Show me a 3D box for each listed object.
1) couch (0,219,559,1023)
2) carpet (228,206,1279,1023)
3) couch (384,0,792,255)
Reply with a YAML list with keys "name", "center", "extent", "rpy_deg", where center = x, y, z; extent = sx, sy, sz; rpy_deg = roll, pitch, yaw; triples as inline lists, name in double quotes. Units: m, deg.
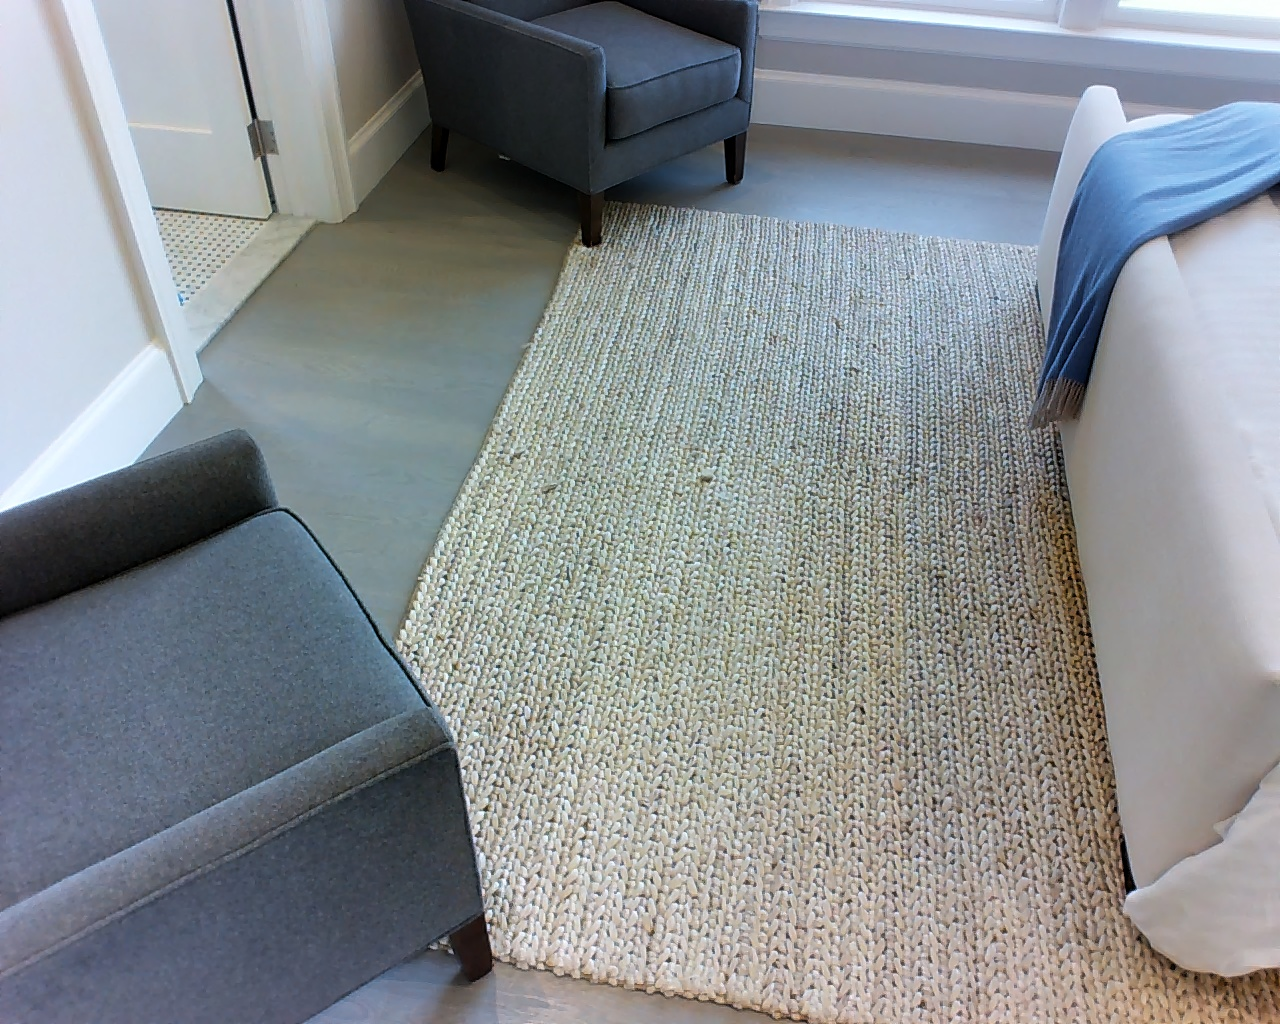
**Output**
- name: "couch"
  center: [-0.750, 0.310, 1.360]
  extent: [0.970, 0.860, 0.840]
  rpy_deg: [-23, 47, -25]
- name: "carpet"
  center: [1.200, 0.060, 2.320]
  extent: [3.200, 0.030, 2.510]
  rpy_deg: [8, 42, 8]
- name: "couch"
  center: [-0.170, -1.460, 3.340]
  extent: [0.840, 0.800, 0.920]
  rpy_deg: [-30, 50, -31]
